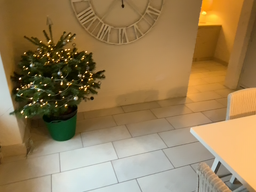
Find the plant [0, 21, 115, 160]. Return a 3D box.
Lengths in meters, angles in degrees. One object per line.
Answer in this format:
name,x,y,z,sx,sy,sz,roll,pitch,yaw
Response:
plant,-0.720,-0.120,2.450,0.940,1.290,0.780,-9,28,-18
